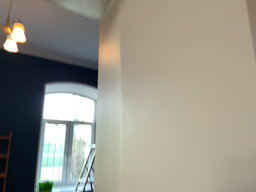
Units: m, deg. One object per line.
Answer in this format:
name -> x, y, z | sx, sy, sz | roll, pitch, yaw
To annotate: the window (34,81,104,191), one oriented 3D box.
window -> -1.310, 0.950, 4.990 | 1.410, 2.400, 0.320 | 8, -17, -30
